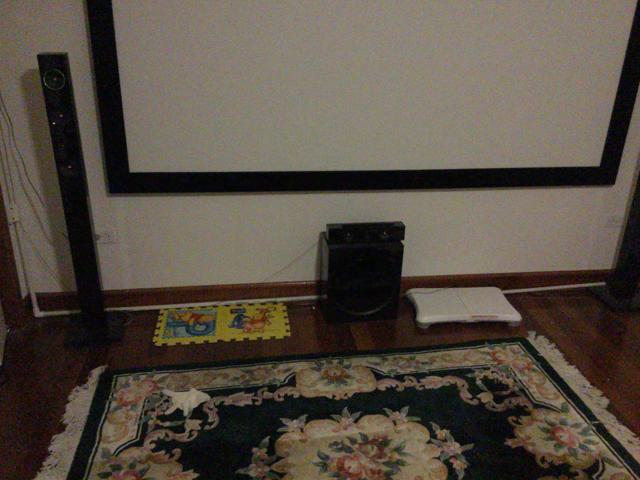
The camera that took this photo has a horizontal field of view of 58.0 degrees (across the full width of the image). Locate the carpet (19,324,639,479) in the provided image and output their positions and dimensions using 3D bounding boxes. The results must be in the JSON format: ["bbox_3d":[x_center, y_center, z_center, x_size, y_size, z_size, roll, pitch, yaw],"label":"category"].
[{"bbox_3d":[0.100,0.690,1.850,2.000,0.070,1.240,-3,24,-6],"label":"carpet"}]
